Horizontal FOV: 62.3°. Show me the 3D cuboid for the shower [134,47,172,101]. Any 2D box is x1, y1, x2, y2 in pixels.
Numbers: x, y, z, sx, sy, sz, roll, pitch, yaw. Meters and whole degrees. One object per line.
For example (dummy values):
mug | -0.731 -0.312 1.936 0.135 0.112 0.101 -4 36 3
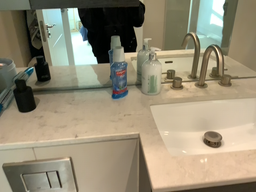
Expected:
shower | 0.090 -0.090 0.830 0.110 0.150 0.170 -3 29 -4
